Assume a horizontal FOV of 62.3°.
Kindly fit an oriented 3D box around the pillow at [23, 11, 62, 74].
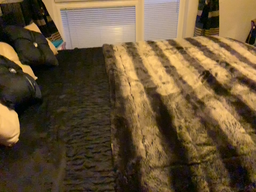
[{"bbox_3d":[-0.550,-0.340,1.380,0.100,0.240,0.300,-17,68,6],"label":"pillow"}]
